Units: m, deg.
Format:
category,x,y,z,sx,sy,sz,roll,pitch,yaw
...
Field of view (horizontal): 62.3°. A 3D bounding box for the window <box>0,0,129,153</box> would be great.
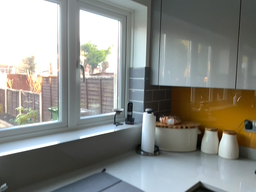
category,x,y,z,sx,sy,sz,roll,pitch,yaw
window,-0.600,-0.180,1.330,0.100,0.980,1.620,6,7,44
